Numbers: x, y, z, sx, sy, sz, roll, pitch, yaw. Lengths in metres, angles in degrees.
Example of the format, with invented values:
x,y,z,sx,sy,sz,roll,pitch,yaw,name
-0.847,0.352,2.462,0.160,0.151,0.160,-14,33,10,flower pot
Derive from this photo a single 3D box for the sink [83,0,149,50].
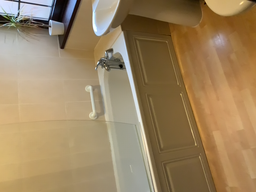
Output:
x,y,z,sx,sy,sz,roll,pitch,yaw,name
-0.120,-0.660,1.470,0.570,0.170,0.430,-34,62,56,sink

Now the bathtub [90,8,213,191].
x,y,z,sx,sy,sz,roll,pitch,yaw,name
0.140,0.190,2.050,0.670,0.570,1.840,-36,61,55,bathtub
